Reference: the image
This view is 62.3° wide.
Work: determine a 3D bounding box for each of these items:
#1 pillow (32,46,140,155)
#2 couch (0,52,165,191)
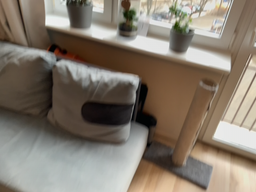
[{"bbox_3d":[-0.280,0.040,1.350,0.530,0.430,0.200,40,36,-1],"label":"pillow"},{"bbox_3d":[-0.270,0.310,1.300,0.670,0.770,0.810,18,37,14],"label":"couch"}]
